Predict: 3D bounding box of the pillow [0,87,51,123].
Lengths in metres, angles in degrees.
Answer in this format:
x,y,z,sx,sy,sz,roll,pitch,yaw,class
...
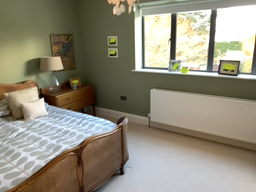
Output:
x,y,z,sx,sy,sz,roll,pitch,yaw,class
-1.580,0.100,3.140,0.720,0.290,0.480,11,20,35,pillow
